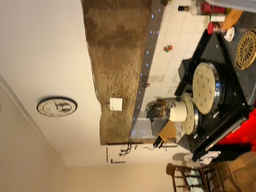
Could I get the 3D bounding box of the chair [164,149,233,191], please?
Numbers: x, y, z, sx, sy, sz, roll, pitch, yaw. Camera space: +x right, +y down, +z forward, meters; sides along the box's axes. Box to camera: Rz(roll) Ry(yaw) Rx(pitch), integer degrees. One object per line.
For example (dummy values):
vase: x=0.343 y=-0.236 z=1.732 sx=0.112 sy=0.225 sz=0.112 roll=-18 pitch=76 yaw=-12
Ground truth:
chair: x=1.020 y=1.250 z=3.240 sx=0.630 sy=0.730 sz=0.540 roll=-99 pitch=9 yaw=-50

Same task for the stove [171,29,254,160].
stove: x=0.610 y=0.070 z=1.830 sx=1.030 sy=0.100 sz=0.690 roll=98 pitch=169 yaw=-58
